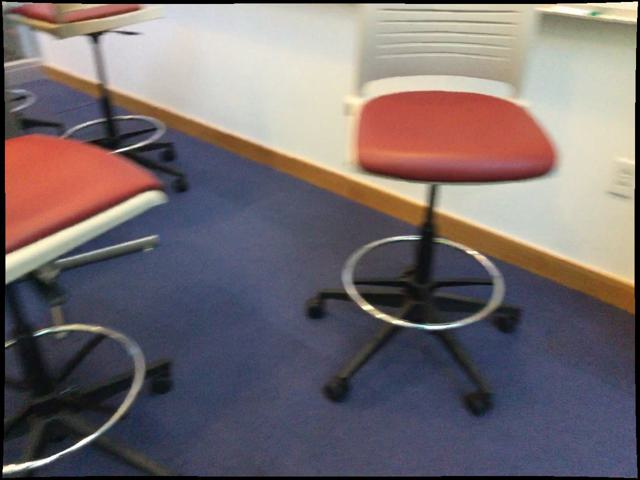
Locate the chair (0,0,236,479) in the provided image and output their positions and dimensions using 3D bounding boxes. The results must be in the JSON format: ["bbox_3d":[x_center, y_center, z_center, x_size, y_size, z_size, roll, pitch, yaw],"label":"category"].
[{"bbox_3d":[-0.619,0.030,1.220,0.540,1.121,0.560,25,41,34],"label":"chair"}]

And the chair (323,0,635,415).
[{"bbox_3d":[0.310,-0.170,1.550,0.539,1.121,0.610,3,33,5],"label":"chair"}]
